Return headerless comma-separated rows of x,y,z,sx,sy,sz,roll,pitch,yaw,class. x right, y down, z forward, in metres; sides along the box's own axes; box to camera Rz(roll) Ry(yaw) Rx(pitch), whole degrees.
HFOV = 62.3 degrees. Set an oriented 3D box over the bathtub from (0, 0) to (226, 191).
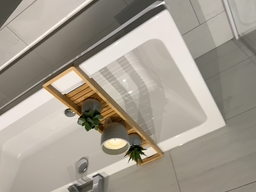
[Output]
-0.440,0.120,1.270,1.680,0.550,0.690,-29,129,17,bathtub
